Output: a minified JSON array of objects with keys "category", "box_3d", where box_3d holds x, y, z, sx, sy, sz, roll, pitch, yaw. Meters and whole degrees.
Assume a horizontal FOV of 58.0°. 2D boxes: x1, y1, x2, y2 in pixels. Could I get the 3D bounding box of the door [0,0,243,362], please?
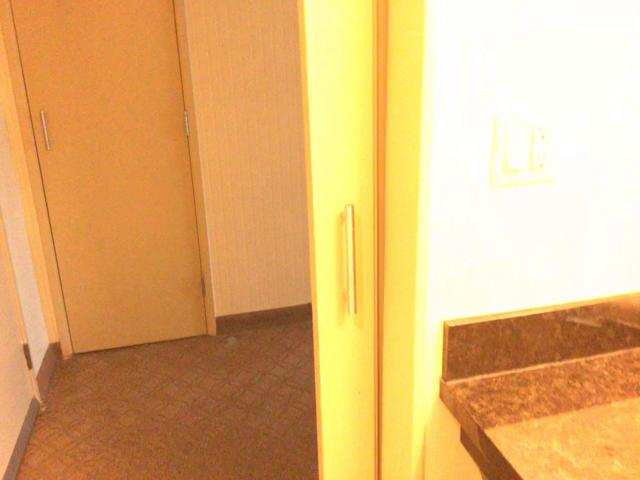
[{"category":"door","box_3d":[-0.820,-0.510,2.400,0.770,2.160,0.050,-8,20,-11]}]
